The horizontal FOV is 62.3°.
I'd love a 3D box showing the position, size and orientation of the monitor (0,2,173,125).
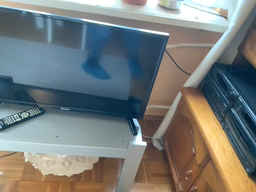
[{"bbox_3d":[-0.250,-0.100,0.880,0.750,0.460,0.050,8,38,-7],"label":"monitor"}]
